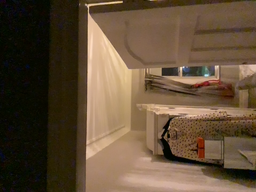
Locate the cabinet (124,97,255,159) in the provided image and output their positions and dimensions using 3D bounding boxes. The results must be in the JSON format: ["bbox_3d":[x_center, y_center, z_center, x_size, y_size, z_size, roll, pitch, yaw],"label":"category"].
[{"bbox_3d":[1.300,0.430,3.790,2.540,2.270,0.700,13,-102,-79],"label":"cabinet"}]
